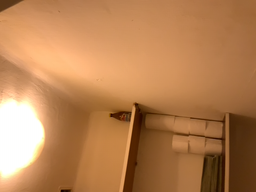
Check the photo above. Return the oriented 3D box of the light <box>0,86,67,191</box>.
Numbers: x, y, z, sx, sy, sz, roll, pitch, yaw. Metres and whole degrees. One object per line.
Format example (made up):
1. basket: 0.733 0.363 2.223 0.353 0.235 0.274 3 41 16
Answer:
1. light: -0.500 0.210 0.990 0.090 0.310 0.410 -14 -68 26
